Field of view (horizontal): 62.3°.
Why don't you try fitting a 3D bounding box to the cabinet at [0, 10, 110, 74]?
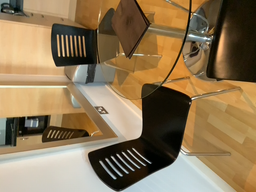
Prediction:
[{"bbox_3d":[-1.350,-0.670,2.550,0.640,2.150,0.560,40,124,48],"label":"cabinet"}]
